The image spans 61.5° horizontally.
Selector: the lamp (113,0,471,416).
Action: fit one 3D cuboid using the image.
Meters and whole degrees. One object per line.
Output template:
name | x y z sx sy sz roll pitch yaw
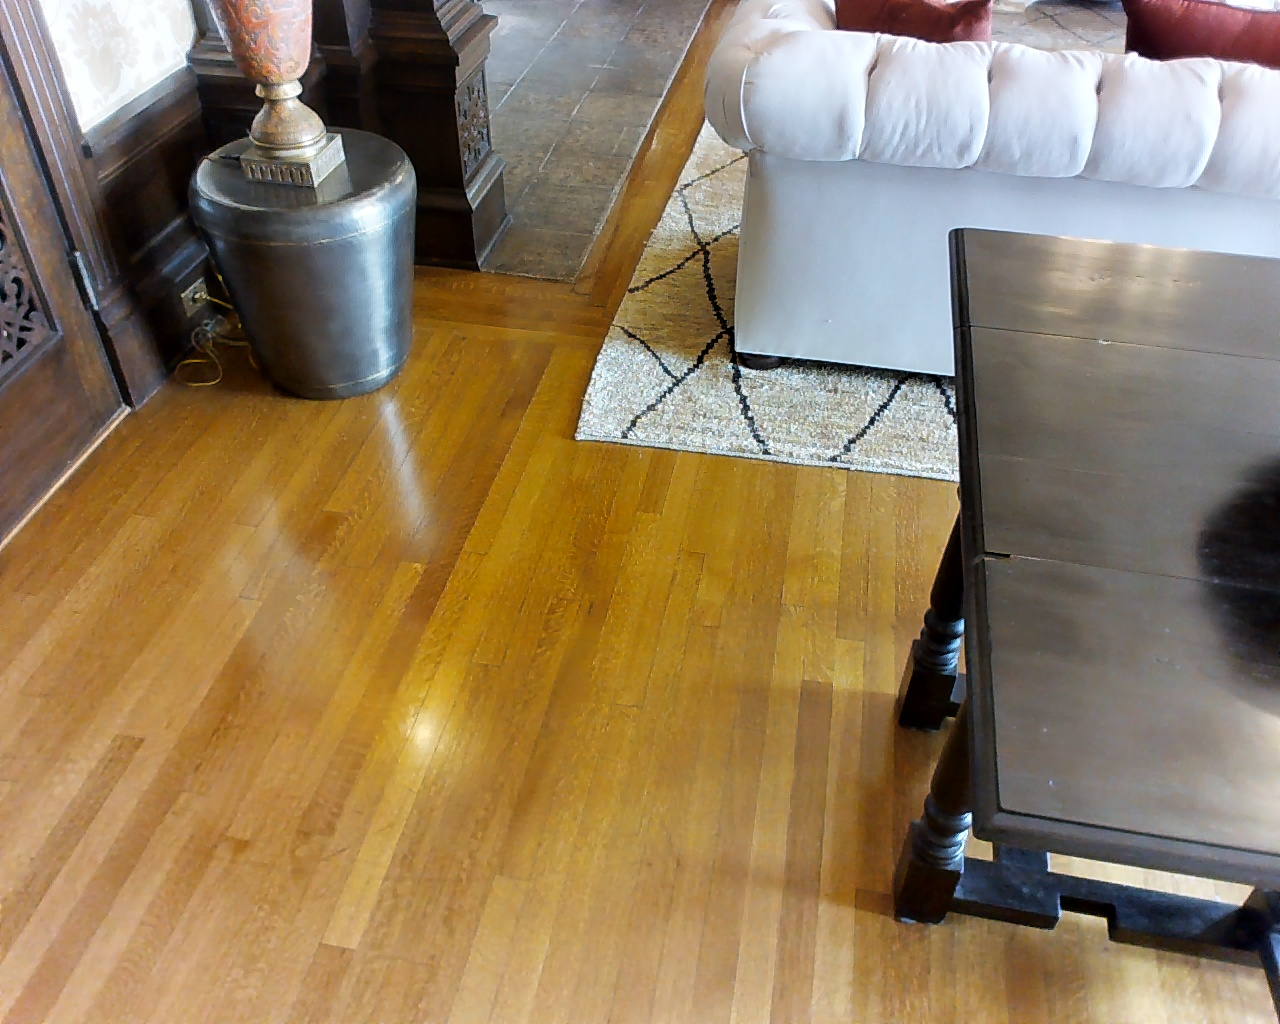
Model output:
lamp | -0.730 -1.120 2.180 0.490 1.890 0.450 7 42 7
